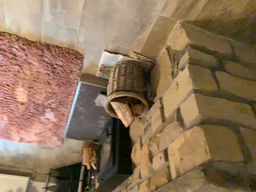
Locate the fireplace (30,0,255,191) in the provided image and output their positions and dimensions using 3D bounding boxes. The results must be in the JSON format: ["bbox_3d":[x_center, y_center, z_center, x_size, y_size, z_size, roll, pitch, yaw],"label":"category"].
[{"bbox_3d":[-0.060,0.590,1.860,1.140,0.990,2.290,12,141,-14],"label":"fireplace"}]
